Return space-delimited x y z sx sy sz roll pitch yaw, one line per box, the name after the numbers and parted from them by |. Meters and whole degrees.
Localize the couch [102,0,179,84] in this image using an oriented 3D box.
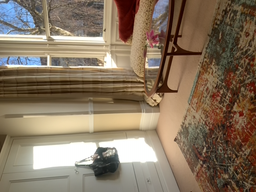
0.110 -1.040 2.940 0.710 0.820 1.620 -108 20 -53 | couch
